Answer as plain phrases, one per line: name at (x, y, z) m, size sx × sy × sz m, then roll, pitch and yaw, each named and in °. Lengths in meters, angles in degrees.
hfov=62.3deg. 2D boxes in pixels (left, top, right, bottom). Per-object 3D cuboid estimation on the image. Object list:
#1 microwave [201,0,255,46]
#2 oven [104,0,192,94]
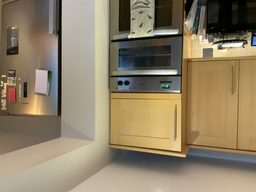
microwave at (0.900, -0.620, 1.720) m, size 0.540 × 0.330 × 0.370 m, roll 2°, pitch -178°, yaw 23°
oven at (0.220, -0.480, 1.980) m, size 0.620 × 0.890 × 0.670 m, roll 2°, pitch -178°, yaw 23°
